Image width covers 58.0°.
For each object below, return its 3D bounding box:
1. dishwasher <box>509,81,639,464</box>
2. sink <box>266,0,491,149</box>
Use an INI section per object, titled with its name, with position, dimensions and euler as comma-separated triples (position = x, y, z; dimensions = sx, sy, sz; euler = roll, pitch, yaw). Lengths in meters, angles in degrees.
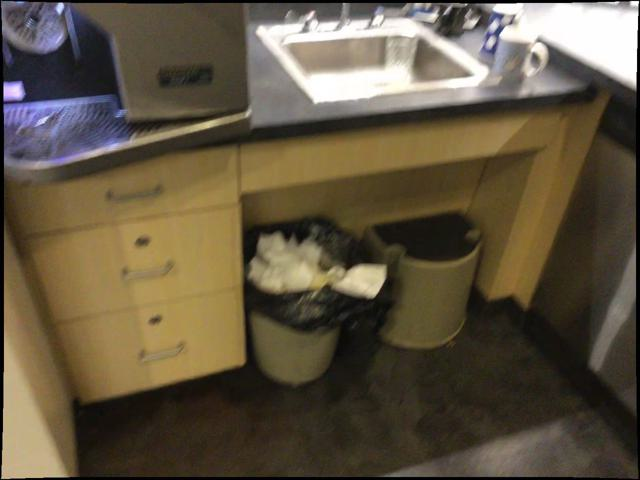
[dishwasher]
position = 0.778, 0.120, 1.400
dimensions = 0.060, 0.791, 0.620
euler = -13, 42, -20
[sink]
position = 0.120, -0.481, 1.530
dimensions = 0.379, 0.190, 0.520
euler = -13, 42, -20
